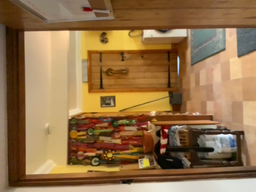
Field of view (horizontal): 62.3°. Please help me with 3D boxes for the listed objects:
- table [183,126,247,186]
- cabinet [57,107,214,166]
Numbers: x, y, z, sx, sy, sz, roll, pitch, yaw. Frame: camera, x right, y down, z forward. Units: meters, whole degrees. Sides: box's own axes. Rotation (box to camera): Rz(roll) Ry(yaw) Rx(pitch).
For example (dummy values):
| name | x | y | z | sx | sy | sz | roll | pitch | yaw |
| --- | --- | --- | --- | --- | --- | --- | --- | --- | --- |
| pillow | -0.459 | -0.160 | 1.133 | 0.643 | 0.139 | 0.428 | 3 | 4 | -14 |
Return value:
| name | x | y | z | sx | sy | sz | roll | pitch | yaw |
| --- | --- | --- | --- | --- | --- | --- | --- | --- | --- |
| table | 0.950 | 0.650 | 2.390 | 0.400 | 0.550 | 0.550 | -156 | 66 | -87 |
| cabinet | 0.080 | 0.600 | 3.810 | 1.790 | 2.150 | 0.630 | -159 | 68 | -87 |
